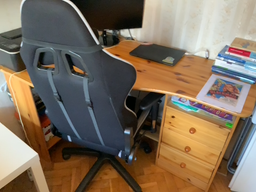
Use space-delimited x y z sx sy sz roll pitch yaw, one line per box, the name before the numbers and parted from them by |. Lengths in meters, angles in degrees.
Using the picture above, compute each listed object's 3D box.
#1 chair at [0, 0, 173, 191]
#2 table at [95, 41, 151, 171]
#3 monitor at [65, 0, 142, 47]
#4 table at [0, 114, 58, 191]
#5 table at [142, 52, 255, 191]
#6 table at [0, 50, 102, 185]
chair | -0.170 -0.020 1.300 0.700 1.220 0.800 9 35 9
table | -0.050 0.060 1.610 0.300 0.750 0.640 0 35 -3
monitor | -0.160 -0.580 1.510 0.520 0.410 0.050 -9 40 -10
table | -0.870 0.500 1.220 0.610 0.460 0.590 24 41 28
table | 0.460 0.200 1.430 0.490 0.750 0.510 22 40 26
table | -0.510 0.150 1.460 0.650 0.750 0.200 22 40 26
